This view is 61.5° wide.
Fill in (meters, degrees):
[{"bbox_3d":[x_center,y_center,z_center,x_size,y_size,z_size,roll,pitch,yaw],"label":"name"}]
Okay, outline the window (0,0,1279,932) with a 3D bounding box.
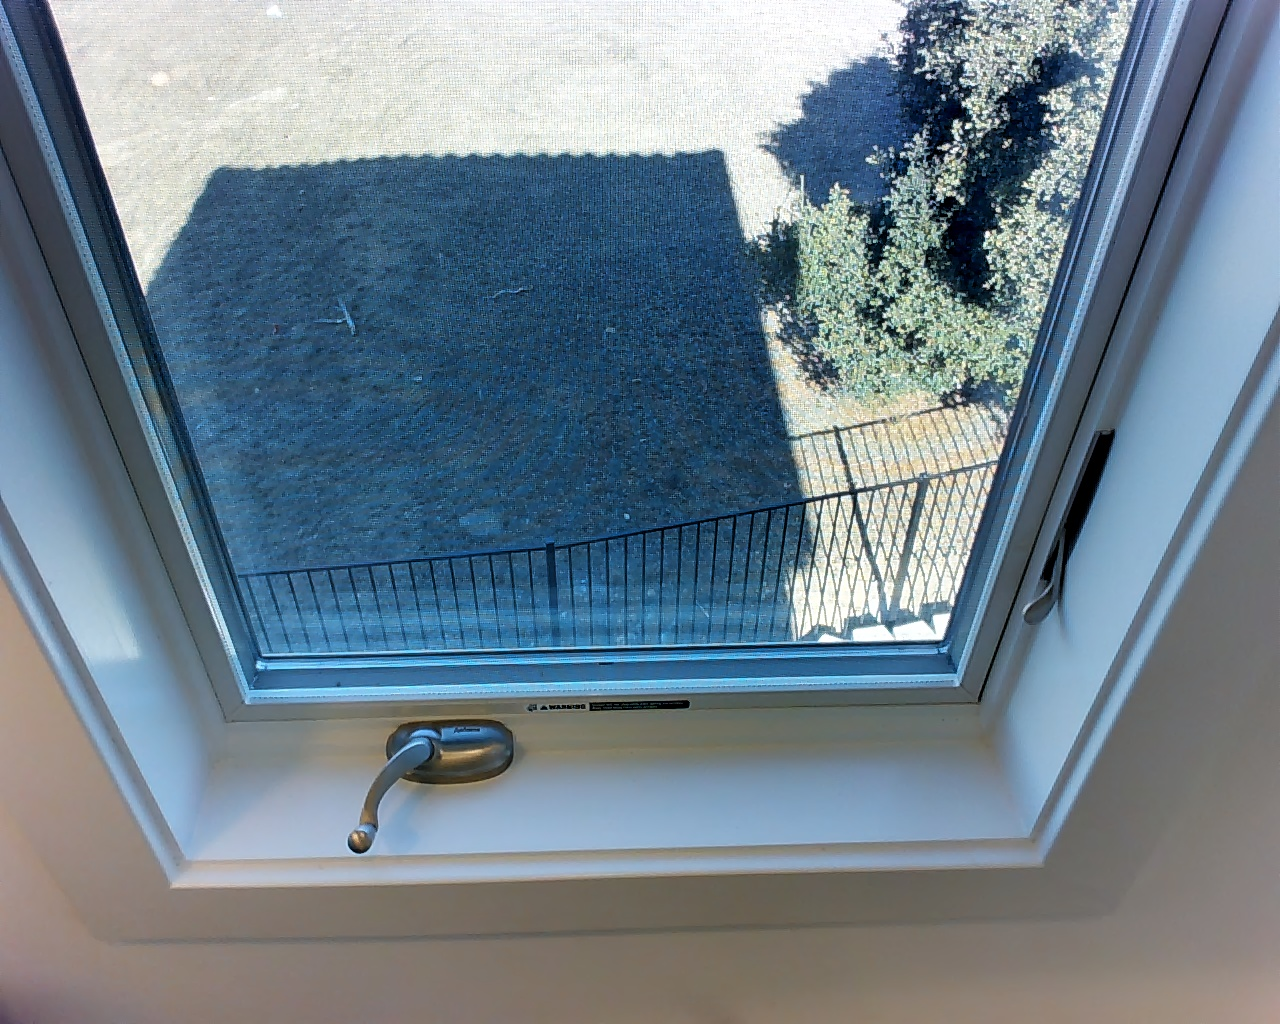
[{"bbox_3d":[0.020,-0.360,0.450,0.820,1.630,0.260,-2,42,-2],"label":"window"}]
